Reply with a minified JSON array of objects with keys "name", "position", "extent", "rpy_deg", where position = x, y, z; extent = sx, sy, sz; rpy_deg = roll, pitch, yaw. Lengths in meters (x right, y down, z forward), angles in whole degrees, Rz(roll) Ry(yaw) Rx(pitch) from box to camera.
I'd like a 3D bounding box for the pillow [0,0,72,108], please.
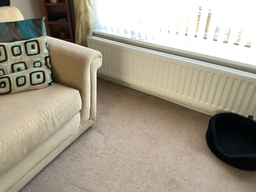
[{"name":"pillow","position":[-0.820,-0.290,1.450],"extent":[0.620,0.610,0.210],"rpy_deg":[-26,14,-5]}]
